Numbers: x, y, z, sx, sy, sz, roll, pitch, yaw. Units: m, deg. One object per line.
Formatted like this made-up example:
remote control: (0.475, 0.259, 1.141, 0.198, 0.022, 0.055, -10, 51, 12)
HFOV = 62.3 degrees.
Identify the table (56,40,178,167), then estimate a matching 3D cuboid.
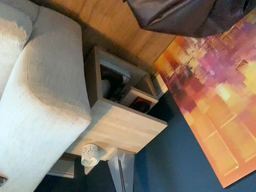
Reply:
table: (-0.090, 0.060, 1.220, 0.460, 0.470, 0.410, 21, 126, -30)
